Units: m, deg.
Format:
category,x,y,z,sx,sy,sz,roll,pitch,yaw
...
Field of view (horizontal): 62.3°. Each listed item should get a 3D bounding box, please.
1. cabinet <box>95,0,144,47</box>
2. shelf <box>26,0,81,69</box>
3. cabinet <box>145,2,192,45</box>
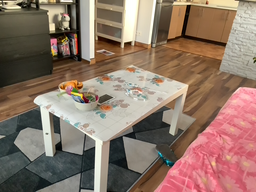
category,x,y,z,sx,sy,sz,roll,pitch,yaw
cabinet,-0.200,-1.610,4.340,0.880,0.980,0.430,25,33,33
shelf,-0.960,-1.230,2.770,0.290,1.640,0.610,24,32,31
cabinet,0.990,-1.800,5.200,0.630,0.840,0.900,24,32,32
